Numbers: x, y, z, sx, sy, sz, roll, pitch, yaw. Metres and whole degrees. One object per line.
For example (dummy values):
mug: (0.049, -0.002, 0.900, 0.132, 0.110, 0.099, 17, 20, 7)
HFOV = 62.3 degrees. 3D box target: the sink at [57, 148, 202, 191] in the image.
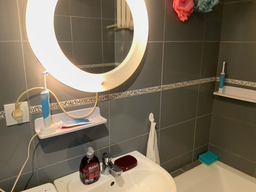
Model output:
sink: (0.000, 0.450, 0.960, 0.500, 0.140, 0.410, -10, 18, -35)
